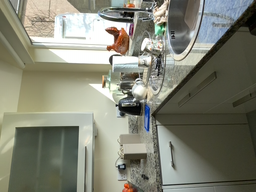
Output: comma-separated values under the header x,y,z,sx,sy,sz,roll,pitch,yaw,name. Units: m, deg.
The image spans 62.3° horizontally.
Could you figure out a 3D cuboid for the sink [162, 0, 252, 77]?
x,y,z,sx,sy,sz,roll,pitch,yaw,name
0.310,-0.380,0.980,0.420,0.150,0.450,113,156,-70,sink
